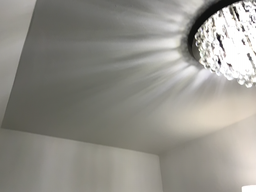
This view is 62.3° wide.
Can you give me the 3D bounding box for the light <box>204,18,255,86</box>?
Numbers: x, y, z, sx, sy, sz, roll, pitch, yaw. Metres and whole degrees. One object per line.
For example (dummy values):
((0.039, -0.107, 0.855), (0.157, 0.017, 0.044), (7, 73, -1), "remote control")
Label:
((0.500, -0.180, 0.920), (0.270, 0.260, 0.200), (22, -121, -77), "light")
